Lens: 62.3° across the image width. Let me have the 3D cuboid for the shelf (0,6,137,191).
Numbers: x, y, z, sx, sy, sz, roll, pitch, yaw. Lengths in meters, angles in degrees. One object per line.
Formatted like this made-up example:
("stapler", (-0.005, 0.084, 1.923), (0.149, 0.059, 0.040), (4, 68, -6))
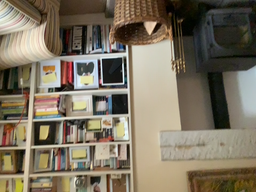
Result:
("shelf", (-0.870, 0.300, 2.020), (1.850, 2.330, 0.290), (-2, 167, 1))
